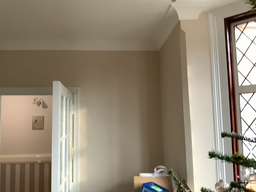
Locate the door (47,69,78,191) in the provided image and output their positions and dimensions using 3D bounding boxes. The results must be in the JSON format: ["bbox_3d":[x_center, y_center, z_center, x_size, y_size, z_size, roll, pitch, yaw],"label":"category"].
[{"bbox_3d":[-0.550,0.870,1.900,0.070,2.040,0.970,-1,-5,-5],"label":"door"}]
